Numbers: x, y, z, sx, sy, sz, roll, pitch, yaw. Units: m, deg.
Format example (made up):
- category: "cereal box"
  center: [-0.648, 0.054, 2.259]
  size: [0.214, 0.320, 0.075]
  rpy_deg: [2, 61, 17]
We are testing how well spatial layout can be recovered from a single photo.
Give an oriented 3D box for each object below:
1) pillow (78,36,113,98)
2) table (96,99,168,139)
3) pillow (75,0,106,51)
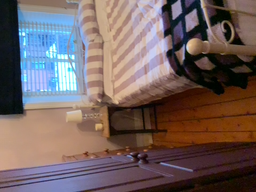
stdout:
- category: "pillow"
  center: [-0.380, -0.310, 2.400]
  size: [0.360, 0.270, 0.610]
  rpy_deg: [159, 107, -67]
- category: "table"
  center: [0.030, 0.280, 2.600]
  size: [0.400, 0.760, 0.400]
  rpy_deg: [156, 111, -69]
- category: "pillow"
  center: [-0.460, -0.900, 2.520]
  size: [0.470, 0.240, 0.570]
  rpy_deg: [157, 109, -67]
